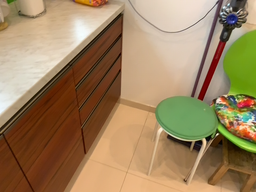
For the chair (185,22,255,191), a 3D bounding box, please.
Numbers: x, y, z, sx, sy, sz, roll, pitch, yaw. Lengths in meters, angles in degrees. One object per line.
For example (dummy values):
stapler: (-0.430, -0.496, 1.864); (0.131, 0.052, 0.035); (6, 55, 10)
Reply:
chair: (0.690, 0.120, 1.240); (0.440, 0.860, 0.490); (16, 43, 12)
